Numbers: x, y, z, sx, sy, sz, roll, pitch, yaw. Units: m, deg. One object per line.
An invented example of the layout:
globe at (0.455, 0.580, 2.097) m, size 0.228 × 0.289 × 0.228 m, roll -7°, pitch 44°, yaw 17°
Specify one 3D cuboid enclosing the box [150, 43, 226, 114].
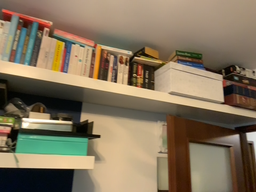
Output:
box at (0.360, -0.080, 1.300) m, size 0.380 × 0.290 × 0.250 m, roll 14°, pitch -21°, yaw -34°
